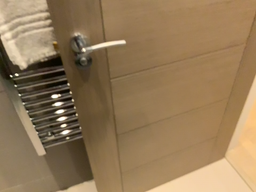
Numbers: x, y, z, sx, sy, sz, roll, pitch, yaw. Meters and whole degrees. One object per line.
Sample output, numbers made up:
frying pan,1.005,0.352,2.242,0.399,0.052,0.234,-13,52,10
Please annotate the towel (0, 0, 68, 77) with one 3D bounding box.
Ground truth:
towel,-0.300,-0.280,0.550,0.180,0.440,0.110,-15,41,-15

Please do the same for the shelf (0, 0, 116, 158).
shelf,-0.280,-0.260,0.690,0.400,1.280,0.060,-15,41,-15
